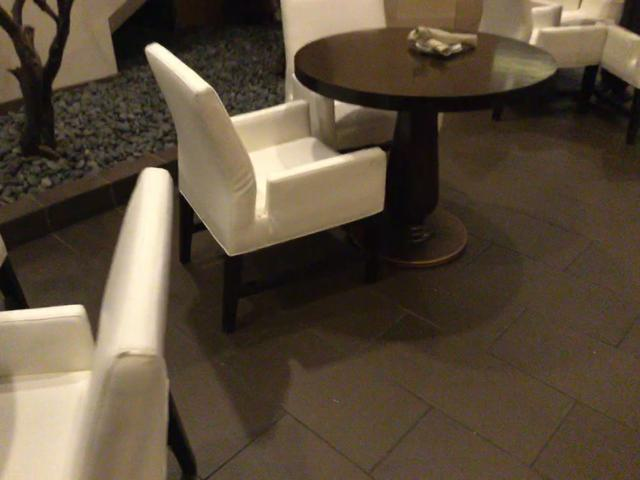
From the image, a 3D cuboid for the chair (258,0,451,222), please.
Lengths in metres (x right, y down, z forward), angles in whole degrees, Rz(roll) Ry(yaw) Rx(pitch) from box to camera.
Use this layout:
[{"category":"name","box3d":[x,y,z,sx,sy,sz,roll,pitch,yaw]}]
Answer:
[{"category":"chair","box3d":[0.110,-0.690,2.650,0.560,0.870,0.760,-12,34,-17]}]

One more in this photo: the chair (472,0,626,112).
[{"category":"chair","box3d":[1.290,-1.220,3.310,0.560,0.790,0.510,-7,33,-9]}]

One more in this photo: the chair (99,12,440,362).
[{"category":"chair","box3d":[-0.180,-0.260,2.020,0.760,0.810,0.800,-21,37,-29]}]
